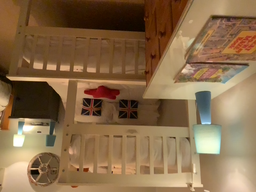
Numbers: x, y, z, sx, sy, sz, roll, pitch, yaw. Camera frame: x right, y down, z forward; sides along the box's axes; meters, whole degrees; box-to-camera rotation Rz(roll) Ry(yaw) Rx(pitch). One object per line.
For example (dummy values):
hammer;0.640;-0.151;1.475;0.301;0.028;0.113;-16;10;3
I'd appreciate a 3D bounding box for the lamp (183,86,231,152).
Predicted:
lamp;0.460;0.140;1.270;0.200;0.370;0.150;2;164;-3

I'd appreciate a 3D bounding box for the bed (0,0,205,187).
bed;-0.280;0.160;2.640;1.470;1.500;2.160;2;164;-4
